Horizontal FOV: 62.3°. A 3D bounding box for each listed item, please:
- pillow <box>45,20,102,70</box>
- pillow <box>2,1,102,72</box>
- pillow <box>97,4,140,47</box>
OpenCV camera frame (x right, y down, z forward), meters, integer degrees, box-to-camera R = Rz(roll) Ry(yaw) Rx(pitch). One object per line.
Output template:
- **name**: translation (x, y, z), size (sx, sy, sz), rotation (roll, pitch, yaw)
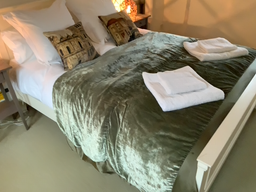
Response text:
- **pillow**: translation (-0.470, -0.460, 1.870), size (0.370, 0.320, 0.100), rotation (-37, 8, -39)
- **pillow**: translation (-0.690, -0.610, 2.040), size (0.560, 0.430, 0.630), rotation (21, 40, 32)
- **pillow**: translation (-0.100, -0.790, 2.360), size (0.120, 0.360, 0.360), rotation (-20, 13, 49)
